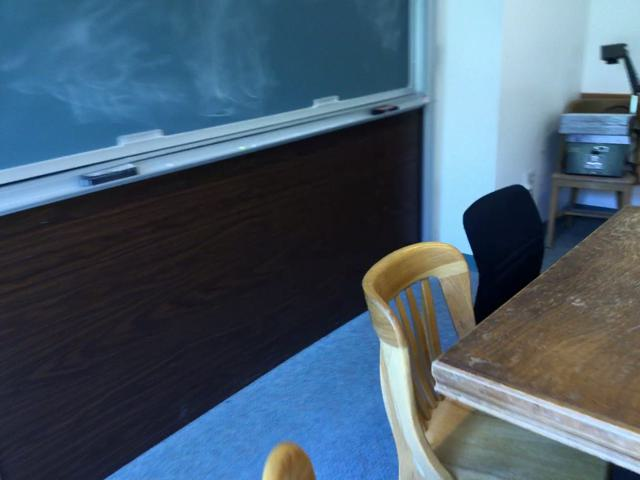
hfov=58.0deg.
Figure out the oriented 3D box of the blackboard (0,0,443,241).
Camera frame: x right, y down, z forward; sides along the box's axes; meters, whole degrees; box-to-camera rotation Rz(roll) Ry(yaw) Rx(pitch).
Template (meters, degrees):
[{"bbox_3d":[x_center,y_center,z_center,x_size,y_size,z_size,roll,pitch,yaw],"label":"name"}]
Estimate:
[{"bbox_3d":[-0.270,-0.800,2.010,0.180,1.020,2.320,10,25,41],"label":"blackboard"}]
